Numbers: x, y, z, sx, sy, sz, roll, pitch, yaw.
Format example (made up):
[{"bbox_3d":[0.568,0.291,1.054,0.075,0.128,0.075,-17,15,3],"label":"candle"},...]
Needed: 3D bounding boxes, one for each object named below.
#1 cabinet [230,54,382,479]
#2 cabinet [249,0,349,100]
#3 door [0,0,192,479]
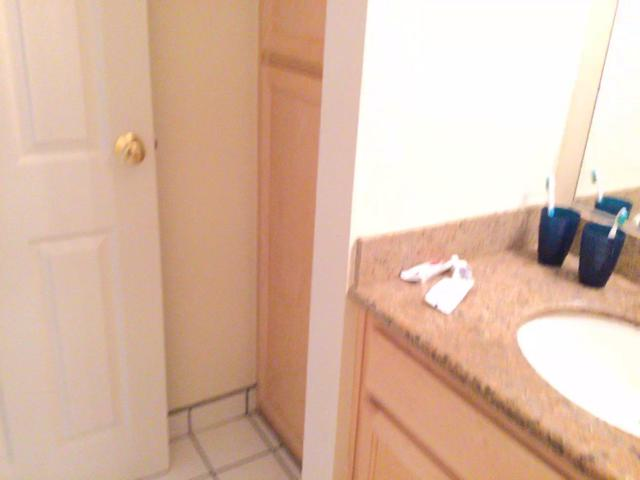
[{"bbox_3d":[-0.090,0.110,1.680,0.100,1.180,0.420,-7,28,-31],"label":"cabinet"},{"bbox_3d":[-0.060,-0.560,1.410,0.040,0.350,0.390,-7,27,-31],"label":"cabinet"},{"bbox_3d":[-0.730,0.070,1.350,0.830,1.480,0.060,-10,25,-30],"label":"door"}]
